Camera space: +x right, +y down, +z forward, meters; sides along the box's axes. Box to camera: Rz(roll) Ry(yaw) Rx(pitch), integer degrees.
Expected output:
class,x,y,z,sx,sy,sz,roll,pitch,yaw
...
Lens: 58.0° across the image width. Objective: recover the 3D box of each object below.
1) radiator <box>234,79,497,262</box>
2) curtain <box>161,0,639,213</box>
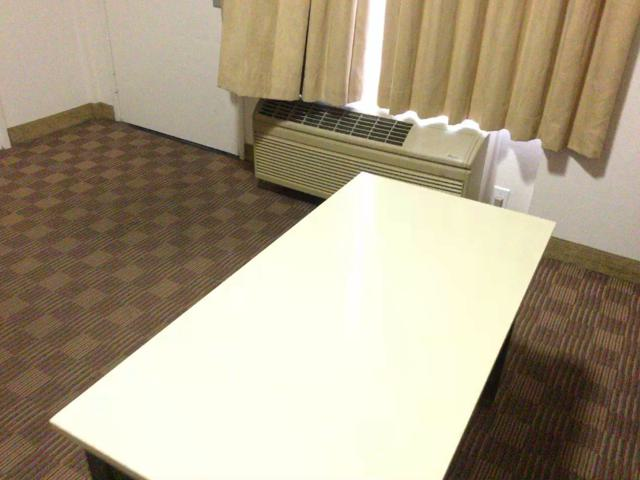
class,x,y,z,sx,sy,sz,roll,pitch,yaw
radiator,0.140,-0.330,2.520,1.120,0.510,0.180,18,34,24
curtain,0.270,-1.090,1.990,1.700,1.510,0.560,18,34,23
